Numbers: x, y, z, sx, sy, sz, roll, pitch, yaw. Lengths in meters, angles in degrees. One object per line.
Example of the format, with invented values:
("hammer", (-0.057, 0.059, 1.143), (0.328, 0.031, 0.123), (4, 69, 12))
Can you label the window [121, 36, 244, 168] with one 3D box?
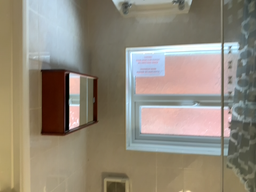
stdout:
("window", (0.420, 0.040, 1.760), (0.900, 0.950, 0.300), (0, -179, 11))
